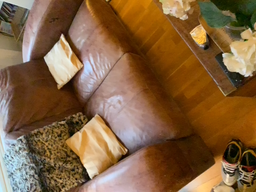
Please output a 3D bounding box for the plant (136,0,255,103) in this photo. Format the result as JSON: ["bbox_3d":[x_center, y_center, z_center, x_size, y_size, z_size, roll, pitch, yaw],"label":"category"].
[{"bbox_3d":[0.320,-0.230,0.570,0.330,0.440,0.370,-42,65,31],"label":"plant"}]

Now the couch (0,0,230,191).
[{"bbox_3d":[-0.330,0.020,1.520,1.040,0.780,1.600,-43,64,30],"label":"couch"}]
